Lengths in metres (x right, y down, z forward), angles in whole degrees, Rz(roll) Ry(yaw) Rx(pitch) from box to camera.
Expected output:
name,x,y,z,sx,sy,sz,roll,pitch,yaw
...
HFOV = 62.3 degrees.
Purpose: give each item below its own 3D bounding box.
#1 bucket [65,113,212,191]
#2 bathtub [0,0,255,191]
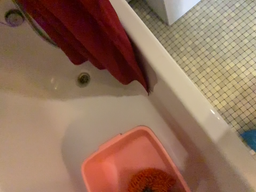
name,x,y,z,sx,sy,sz,roll,pitch,yaw
bucket,0.060,0.360,0.900,0.400,0.300,0.390,-41,73,7
bathtub,-0.040,0.190,0.850,0.700,0.600,1.380,-37,74,8
